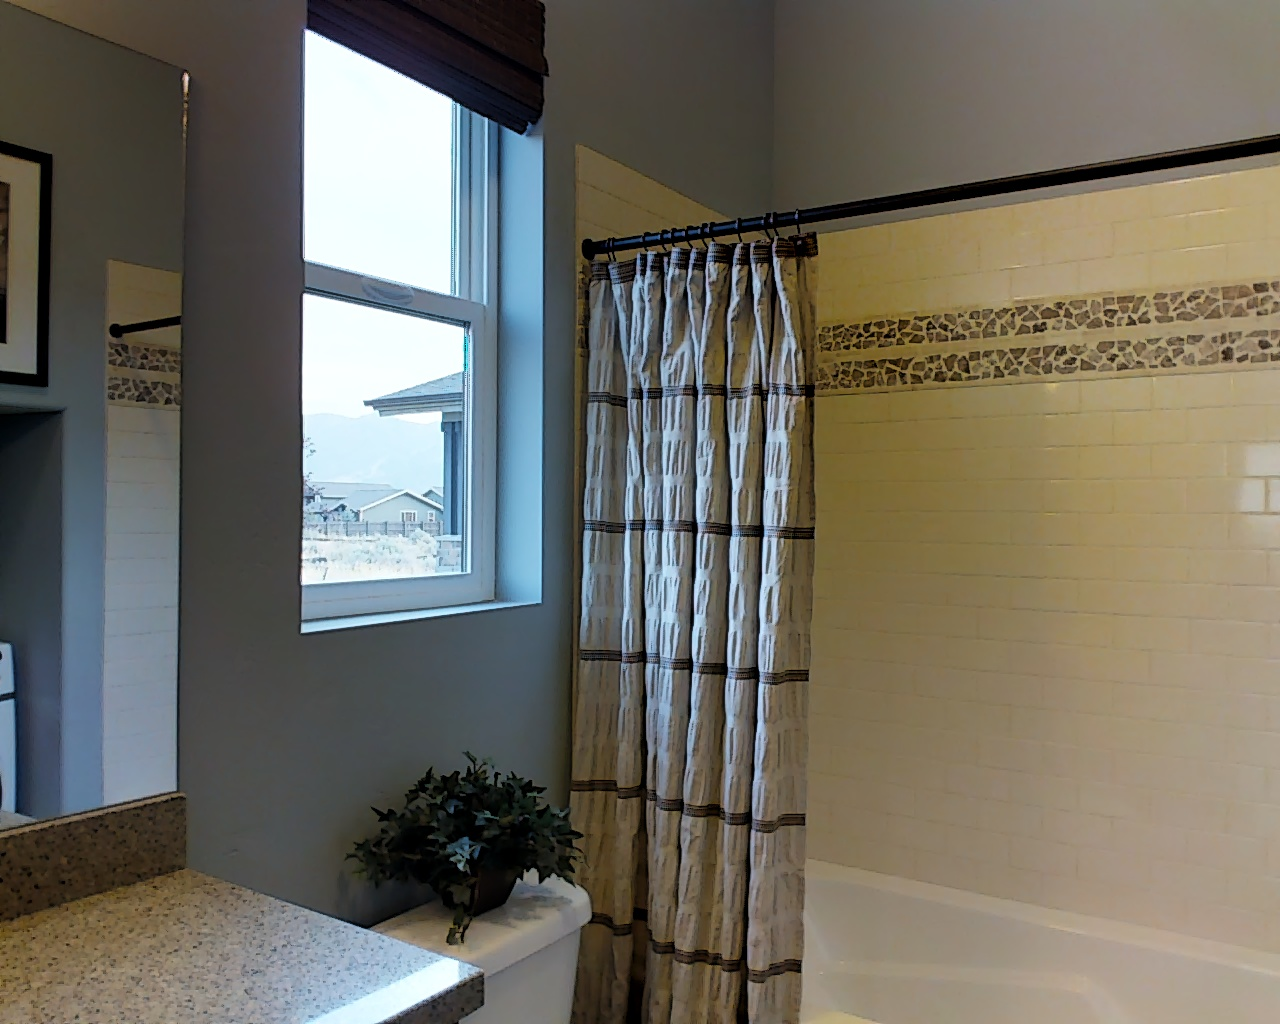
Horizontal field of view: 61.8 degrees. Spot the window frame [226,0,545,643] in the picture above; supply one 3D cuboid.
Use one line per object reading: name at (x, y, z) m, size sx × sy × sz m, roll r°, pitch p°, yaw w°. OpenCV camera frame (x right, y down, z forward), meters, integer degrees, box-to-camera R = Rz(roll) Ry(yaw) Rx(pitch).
window frame at (-0.430, -0.300, 1.930) m, size 0.190 × 1.000 × 0.590 m, roll 0°, pitch 0°, yaw 33°
